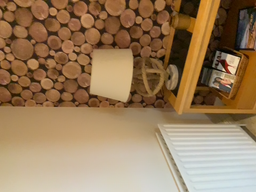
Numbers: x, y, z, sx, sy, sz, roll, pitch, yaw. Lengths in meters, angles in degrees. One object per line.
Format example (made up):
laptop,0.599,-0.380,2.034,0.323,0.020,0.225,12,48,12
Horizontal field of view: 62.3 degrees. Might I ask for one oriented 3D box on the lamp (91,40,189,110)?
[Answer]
lamp,0.050,-0.160,1.590,0.390,0.610,0.370,-112,26,-61
